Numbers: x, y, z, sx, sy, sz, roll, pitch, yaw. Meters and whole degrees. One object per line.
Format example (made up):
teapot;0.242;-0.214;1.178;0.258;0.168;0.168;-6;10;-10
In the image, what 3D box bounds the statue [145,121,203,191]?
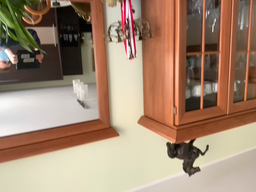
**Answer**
statue;0.290;0.390;1.340;0.310;0.360;0.210;-13;-164;-43
